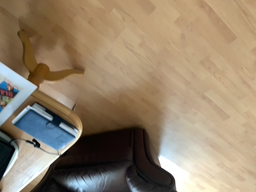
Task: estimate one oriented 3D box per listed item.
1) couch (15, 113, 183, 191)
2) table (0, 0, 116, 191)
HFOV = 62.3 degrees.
[{"bbox_3d":[-0.120,0.890,1.650,1.080,0.960,0.960,-11,127,11],"label":"couch"},{"bbox_3d":[-0.650,0.130,1.260,0.560,0.660,1.050,36,122,-23],"label":"table"}]
